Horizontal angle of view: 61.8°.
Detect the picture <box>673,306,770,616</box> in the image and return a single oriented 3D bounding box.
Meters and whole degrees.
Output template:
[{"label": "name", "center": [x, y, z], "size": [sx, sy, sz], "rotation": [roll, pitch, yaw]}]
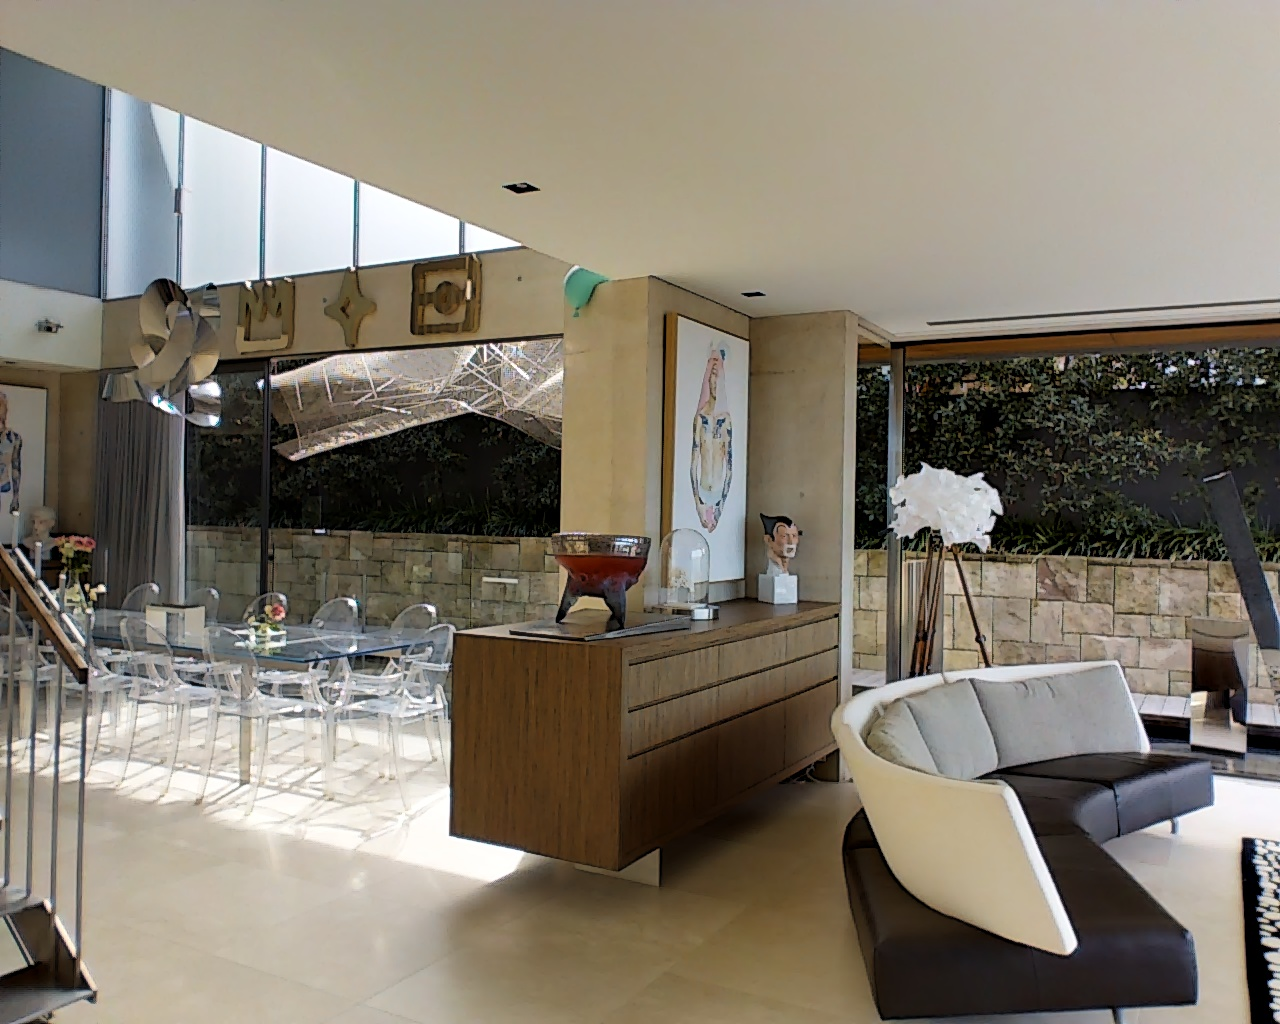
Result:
[{"label": "picture", "center": [0.470, -0.250, 5.860], "size": [0.030, 1.560, 1.100], "rotation": [1, 0, 30]}]
